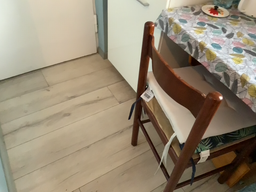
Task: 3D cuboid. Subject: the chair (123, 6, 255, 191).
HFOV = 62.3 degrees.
[{"bbox_3d":[0.300,0.100,0.990,0.480,0.810,0.440,-13,49,-17],"label":"chair"}]
